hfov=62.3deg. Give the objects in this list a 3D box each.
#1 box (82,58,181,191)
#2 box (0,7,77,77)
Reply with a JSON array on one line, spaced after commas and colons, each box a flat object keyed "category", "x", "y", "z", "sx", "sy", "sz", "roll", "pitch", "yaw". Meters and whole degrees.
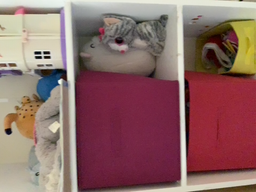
[{"category": "box", "x": -0.020, "y": 0.080, "z": 0.830, "sx": 0.400, "sy": 0.290, "sz": 0.390, "roll": -173, "pitch": 81, "yaw": -79}, {"category": "box", "x": -0.380, "y": -0.170, "z": 0.770, "sx": 0.350, "sy": 0.360, "sz": 0.170, "roll": -173, "pitch": 81, "yaw": -79}]
